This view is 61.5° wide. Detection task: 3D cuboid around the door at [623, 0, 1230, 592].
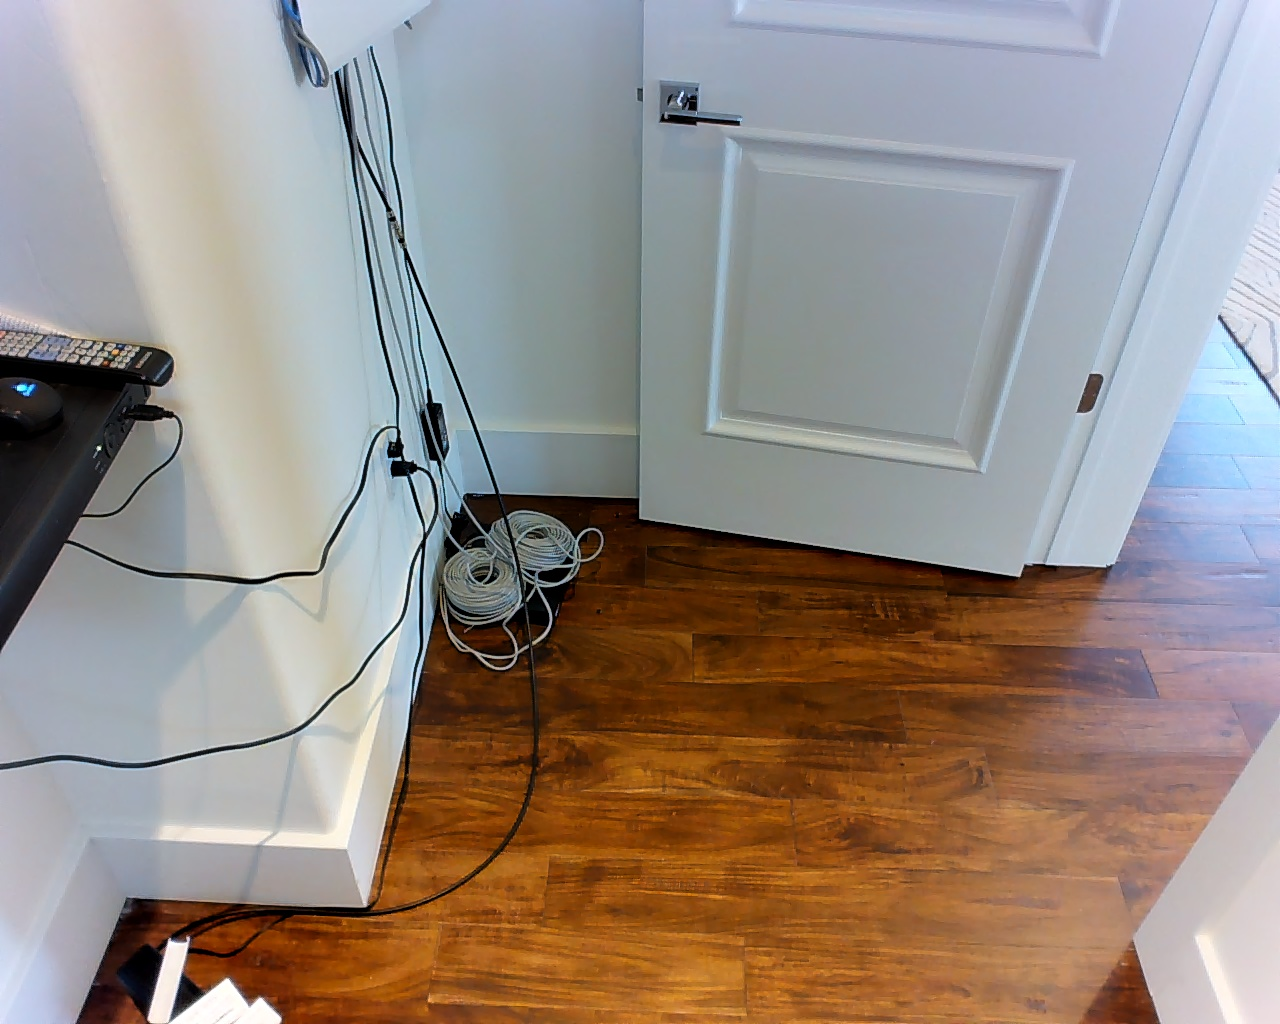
[{"bbox_3d":[0.390,-0.760,1.550,0.840,2.250,0.060,9,43,10],"label":"door"}]
